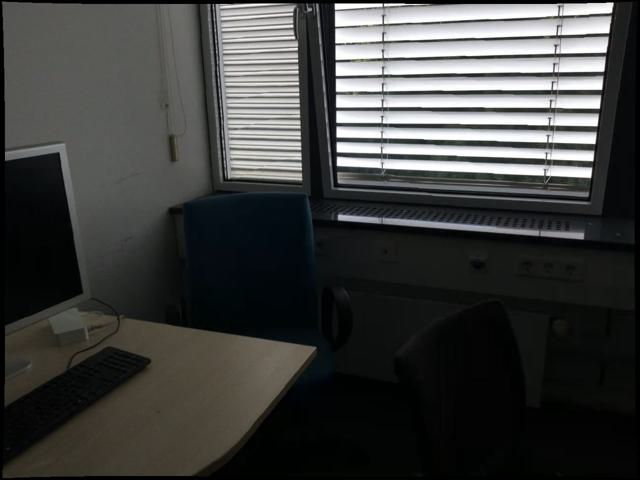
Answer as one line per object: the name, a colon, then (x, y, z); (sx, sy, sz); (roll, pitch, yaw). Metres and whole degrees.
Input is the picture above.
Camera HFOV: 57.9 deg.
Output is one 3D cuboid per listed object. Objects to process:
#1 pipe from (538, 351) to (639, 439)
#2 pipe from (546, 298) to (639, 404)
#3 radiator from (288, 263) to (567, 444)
pipe: (1.069, 0.601, 2.250); (0.390, 0.240, 0.130); (5, 20, 20)
pipe: (1.089, 0.410, 2.130); (0.450, 0.280, 0.210); (5, 20, 20)
radiator: (0.420, 0.440, 2.410); (1.069, 0.520, 0.260); (6, 20, 20)
